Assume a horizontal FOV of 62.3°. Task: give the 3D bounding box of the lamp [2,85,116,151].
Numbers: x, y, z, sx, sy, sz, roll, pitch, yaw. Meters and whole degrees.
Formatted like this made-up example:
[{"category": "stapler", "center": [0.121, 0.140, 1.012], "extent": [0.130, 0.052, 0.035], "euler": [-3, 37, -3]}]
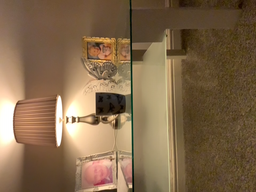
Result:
[{"category": "lamp", "center": [-0.320, 0.100, 1.080], "extent": [0.220, 0.500, 0.290], "euler": [153, 117, -81]}]
